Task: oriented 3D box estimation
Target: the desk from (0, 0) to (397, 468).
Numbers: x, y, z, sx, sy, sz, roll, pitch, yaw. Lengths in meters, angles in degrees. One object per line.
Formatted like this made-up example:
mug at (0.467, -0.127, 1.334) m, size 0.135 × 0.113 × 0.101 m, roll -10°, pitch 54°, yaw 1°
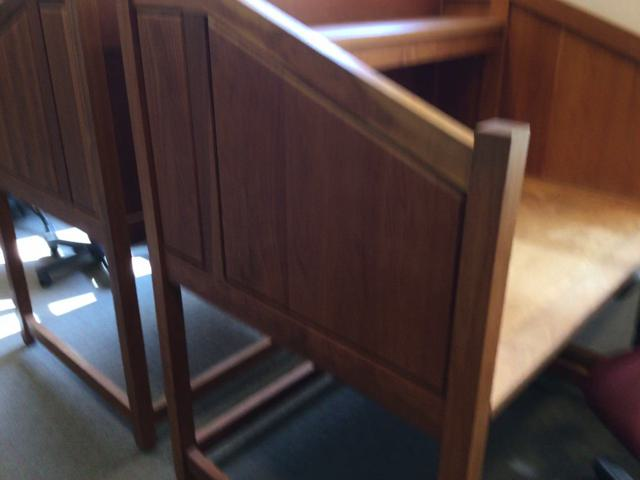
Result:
desk at (-0.490, -0.250, 2.180) m, size 0.970 × 1.380 × 1.200 m, roll 20°, pitch 31°, yaw 38°
